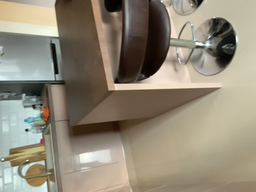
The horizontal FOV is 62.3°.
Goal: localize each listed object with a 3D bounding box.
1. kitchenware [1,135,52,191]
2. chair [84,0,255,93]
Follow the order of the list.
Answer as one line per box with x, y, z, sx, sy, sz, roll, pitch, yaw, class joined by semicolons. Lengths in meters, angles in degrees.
-1.290;0.840;2.690;0.160;0.540;0.610;-38;60;54;kitchenware
0.250;-0.360;1.350;0.500;0.870;0.510;-38;60;54;chair
